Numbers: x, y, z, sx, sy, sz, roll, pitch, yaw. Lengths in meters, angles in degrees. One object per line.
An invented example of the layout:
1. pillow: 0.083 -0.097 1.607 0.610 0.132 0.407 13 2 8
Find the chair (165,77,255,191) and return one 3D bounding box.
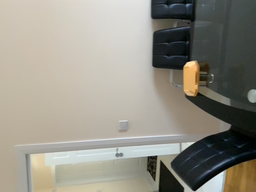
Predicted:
1. chair: 0.780 0.230 1.410 0.390 0.900 0.620 -127 39 -67

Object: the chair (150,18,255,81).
1. chair: 0.710 -0.330 1.670 0.620 0.900 0.360 -147 57 -73
